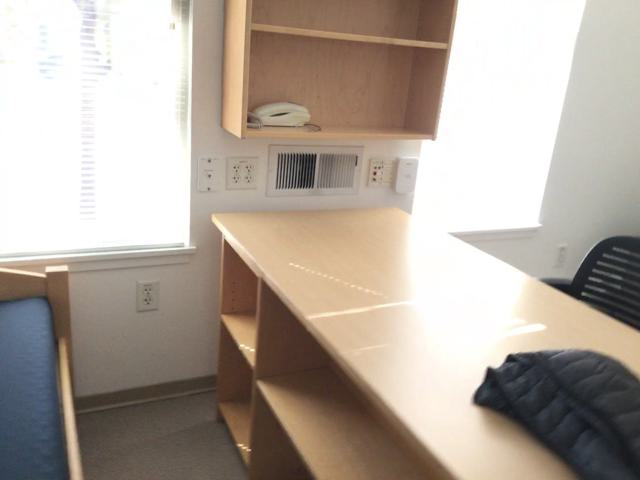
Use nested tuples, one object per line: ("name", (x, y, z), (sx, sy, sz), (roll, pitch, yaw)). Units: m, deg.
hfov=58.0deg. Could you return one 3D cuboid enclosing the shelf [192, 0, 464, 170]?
("shelf", (0.030, -0.860, 1.910), (0.830, 1.200, 0.360), (-3, 18, -23))
